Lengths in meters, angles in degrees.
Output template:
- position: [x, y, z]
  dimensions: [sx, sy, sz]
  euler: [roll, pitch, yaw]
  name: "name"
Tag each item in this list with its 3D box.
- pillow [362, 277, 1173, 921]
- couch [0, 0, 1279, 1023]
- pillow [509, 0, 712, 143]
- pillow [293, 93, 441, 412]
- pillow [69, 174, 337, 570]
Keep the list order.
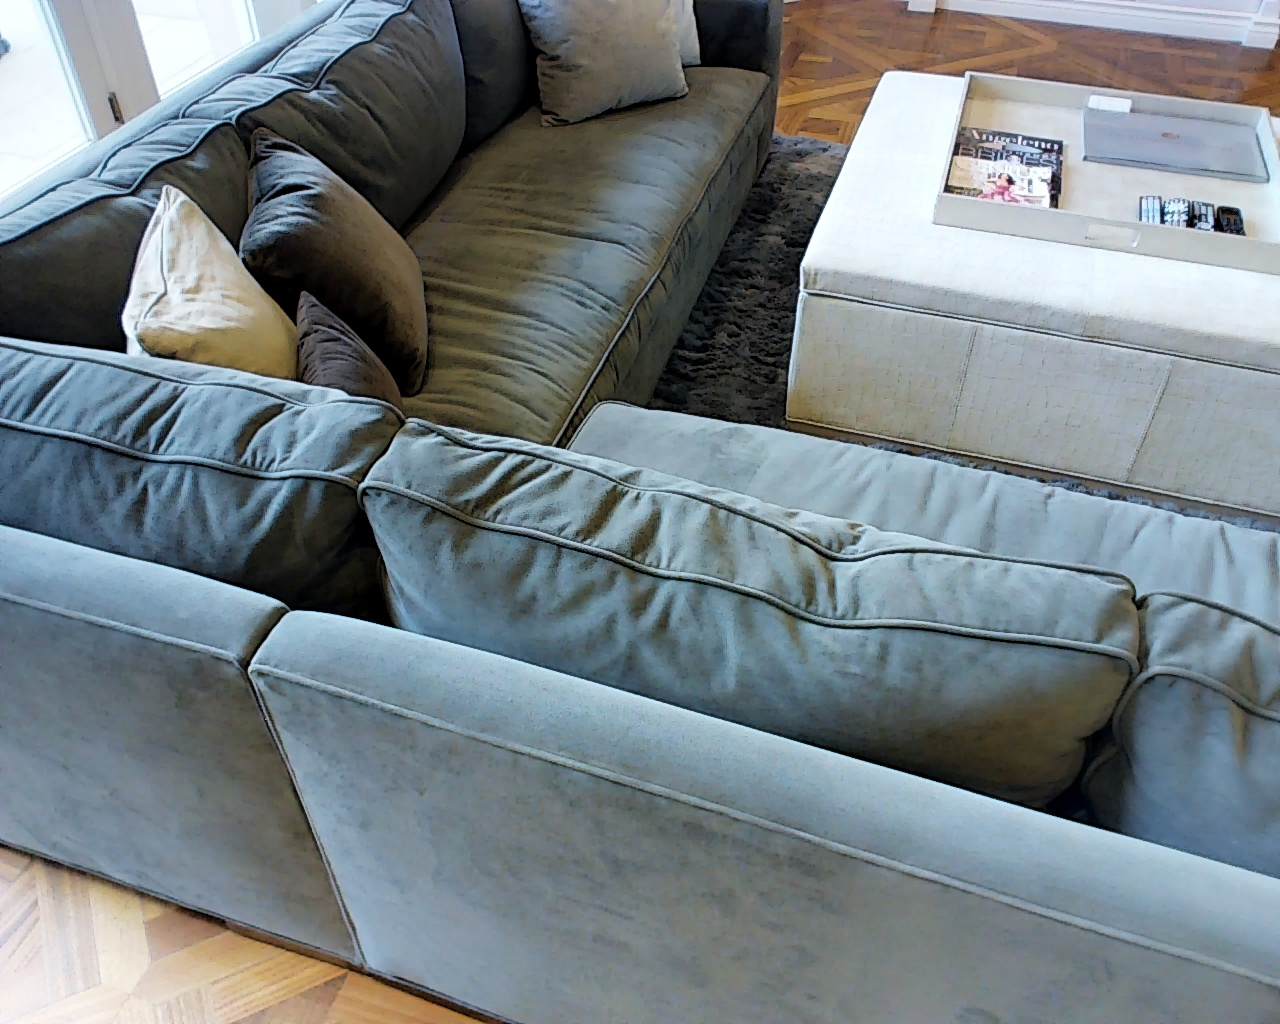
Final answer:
- position: [0.120, 0.130, 1.380]
  dimensions: [0.880, 0.480, 0.300]
  euler: [23, 52, 4]
  name: "pillow"
- position: [0.850, -0.290, 2.090]
  dimensions: [4.040, 1.000, 2.800]
  euler: [13, 44, 14]
  name: "couch"
- position: [-0.090, -1.350, 3.030]
  dimensions: [0.450, 0.420, 0.310]
  euler: [-22, 56, -25]
  name: "pillow"
- position: [-0.540, -0.480, 2.070]
  dimensions: [0.170, 0.430, 0.410]
  euler: [-2, 65, -25]
  name: "pillow"
- position: [-0.690, -0.250, 1.800]
  dimensions: [0.280, 0.390, 0.540]
  euler: [-9, 43, -9]
  name: "pillow"
